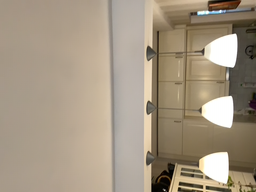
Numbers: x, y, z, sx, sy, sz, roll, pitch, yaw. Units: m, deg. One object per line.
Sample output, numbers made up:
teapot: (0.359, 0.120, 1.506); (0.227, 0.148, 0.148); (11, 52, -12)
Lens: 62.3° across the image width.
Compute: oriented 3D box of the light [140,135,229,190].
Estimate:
light: (0.460, 0.530, 1.780); (0.650, 0.220, 0.260); (8, 90, 18)
